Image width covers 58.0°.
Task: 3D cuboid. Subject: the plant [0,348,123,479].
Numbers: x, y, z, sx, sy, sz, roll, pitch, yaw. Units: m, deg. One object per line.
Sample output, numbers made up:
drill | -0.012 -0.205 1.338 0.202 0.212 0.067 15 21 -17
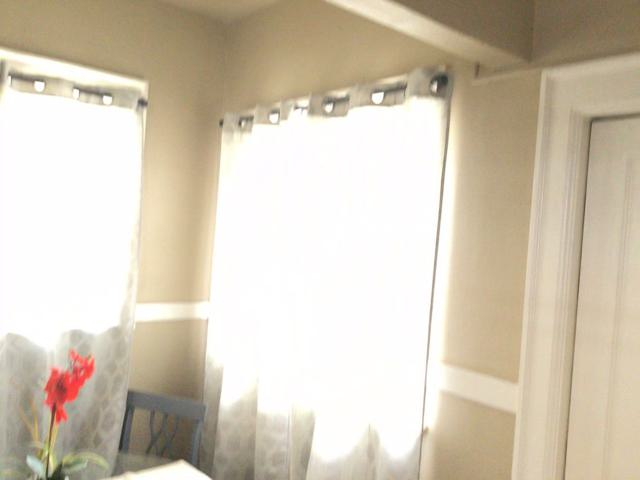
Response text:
plant | -0.810 0.580 1.770 0.300 0.460 0.190 7 -4 -41
